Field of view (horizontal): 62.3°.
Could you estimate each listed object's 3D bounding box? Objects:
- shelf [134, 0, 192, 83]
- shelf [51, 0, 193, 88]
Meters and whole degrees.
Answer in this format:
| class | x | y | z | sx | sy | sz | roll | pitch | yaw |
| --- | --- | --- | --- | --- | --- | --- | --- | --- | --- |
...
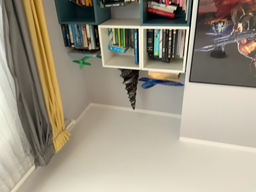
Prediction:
| class | x | y | z | sx | sy | sz | roll | pitch | yaw |
| --- | --- | --- | --- | --- | --- | --- | --- | --- | --- |
| shelf | 0.270 | -0.550 | 1.660 | 0.390 | 0.840 | 0.240 | 7 | -148 | 16 |
| shelf | -0.040 | -0.720 | 1.670 | 1.050 | 1.190 | 0.350 | 6 | -148 | 14 |
